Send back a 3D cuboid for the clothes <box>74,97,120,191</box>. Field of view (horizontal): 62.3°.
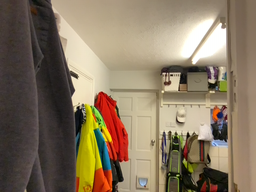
[{"bbox_3d":[-0.320,0.580,2.350,0.370,1.090,0.410,1,-6,8],"label":"clothes"}]

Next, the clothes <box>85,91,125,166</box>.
[{"bbox_3d":[-0.280,0.400,2.760,0.410,0.890,0.410,1,-6,7],"label":"clothes"}]

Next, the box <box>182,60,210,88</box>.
[{"bbox_3d":[1.080,-0.340,3.420,0.380,0.360,0.430,0,-6,11],"label":"box"}]

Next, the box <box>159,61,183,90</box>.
[{"bbox_3d":[0.710,-0.320,3.530,0.370,0.390,0.490,0,-6,10],"label":"box"}]

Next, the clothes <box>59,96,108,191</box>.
[{"bbox_3d":[-0.400,0.520,2.010,0.310,1.000,0.390,1,-6,7],"label":"clothes"}]
